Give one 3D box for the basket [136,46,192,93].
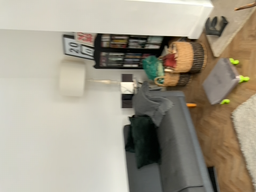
[{"bbox_3d":[0.440,-0.330,2.750,0.410,0.530,0.440,113,154,-61],"label":"basket"}]
